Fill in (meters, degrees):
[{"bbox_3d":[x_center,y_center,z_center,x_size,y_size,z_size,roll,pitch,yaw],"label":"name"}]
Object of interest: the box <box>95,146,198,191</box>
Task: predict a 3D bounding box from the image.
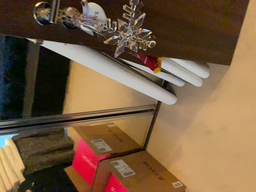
[{"bbox_3d":[0.100,0.690,1.350,0.550,0.360,0.430,33,115,42],"label":"box"}]
